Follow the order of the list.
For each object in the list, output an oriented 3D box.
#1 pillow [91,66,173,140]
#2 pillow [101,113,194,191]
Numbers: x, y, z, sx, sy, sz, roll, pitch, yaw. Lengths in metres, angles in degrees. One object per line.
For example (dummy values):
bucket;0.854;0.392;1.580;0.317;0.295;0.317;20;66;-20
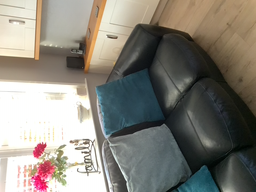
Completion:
pillow;0.010;0.040;1.840;0.210;0.560;0.530;96;160;-54
pillow;0.100;0.430;1.470;0.230;0.460;0.510;92;163;-50
